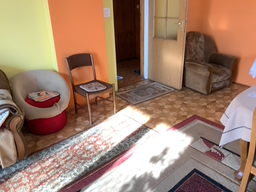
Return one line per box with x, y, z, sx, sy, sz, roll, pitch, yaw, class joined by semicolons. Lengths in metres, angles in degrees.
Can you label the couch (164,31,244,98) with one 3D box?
1.340;-0.640;3.900;0.900;0.910;0.920;-16;28;-29;couch
